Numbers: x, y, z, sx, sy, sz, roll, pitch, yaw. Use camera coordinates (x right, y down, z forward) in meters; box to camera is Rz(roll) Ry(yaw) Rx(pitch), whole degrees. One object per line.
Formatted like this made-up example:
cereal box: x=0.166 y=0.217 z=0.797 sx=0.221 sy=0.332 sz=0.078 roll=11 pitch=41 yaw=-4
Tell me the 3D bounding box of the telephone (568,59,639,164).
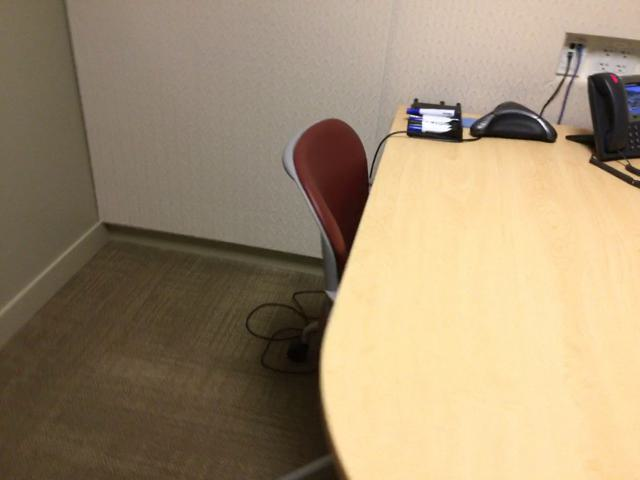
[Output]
telephone: x=0.790 y=-0.320 z=1.440 sx=0.250 sy=0.180 sz=0.250 roll=10 pitch=31 yaw=10
